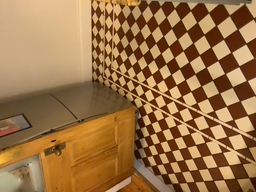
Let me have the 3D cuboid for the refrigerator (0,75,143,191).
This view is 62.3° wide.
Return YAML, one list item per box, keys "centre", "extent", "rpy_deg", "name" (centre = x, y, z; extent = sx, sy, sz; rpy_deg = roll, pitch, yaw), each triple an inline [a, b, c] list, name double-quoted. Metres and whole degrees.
- centre: [-0.780, 0.410, 2.030]
  extent: [0.810, 1.690, 0.710]
  rpy_deg: [31, 126, 41]
  name: "refrigerator"
